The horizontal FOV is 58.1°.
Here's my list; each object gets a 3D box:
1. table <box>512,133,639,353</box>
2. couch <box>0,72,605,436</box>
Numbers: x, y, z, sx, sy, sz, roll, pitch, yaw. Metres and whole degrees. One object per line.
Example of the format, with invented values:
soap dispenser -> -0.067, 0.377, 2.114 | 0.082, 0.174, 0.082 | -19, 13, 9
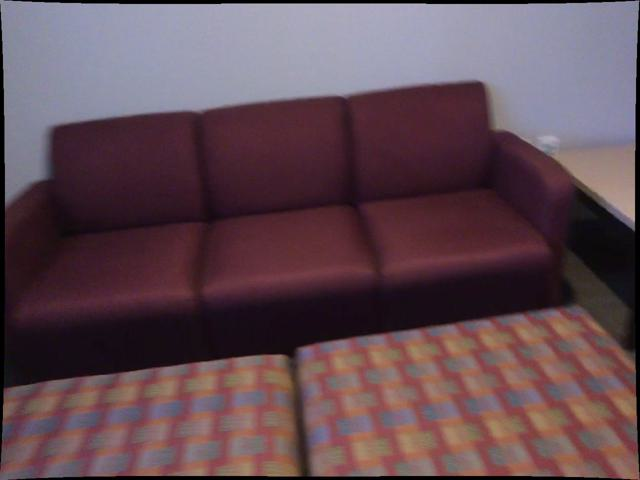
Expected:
table -> 1.328, -0.060, 2.190 | 0.849, 0.431, 0.810 | -7, 29, -5
couch -> -0.150, -0.020, 2.060 | 1.867, 0.791, 0.770 | -7, 29, -5
